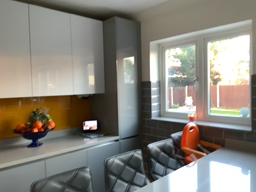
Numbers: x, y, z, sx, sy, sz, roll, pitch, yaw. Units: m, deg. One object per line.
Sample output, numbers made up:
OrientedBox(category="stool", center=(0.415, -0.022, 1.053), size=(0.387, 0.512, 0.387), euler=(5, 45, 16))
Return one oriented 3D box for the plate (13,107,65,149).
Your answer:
OrientedBox(category="plate", center=(-0.960, 0.320, 2.300), size=(0.410, 0.350, 0.360), euler=(-4, 3, -42))
